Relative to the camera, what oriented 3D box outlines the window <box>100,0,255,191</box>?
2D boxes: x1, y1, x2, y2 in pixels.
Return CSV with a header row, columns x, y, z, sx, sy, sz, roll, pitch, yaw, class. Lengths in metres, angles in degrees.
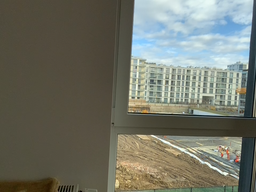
x,y,z,sx,sy,sz,roll,pitch,yaw,class
0.410,0.240,1.310,1.110,2.250,0.160,3,3,-9,window
